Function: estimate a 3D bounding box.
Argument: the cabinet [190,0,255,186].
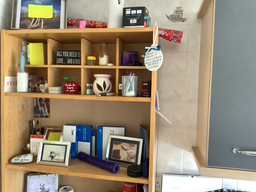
[{"bbox_3d":[0.510,-0.060,1.010,0.330,0.820,0.360,3,3,10],"label":"cabinet"}]

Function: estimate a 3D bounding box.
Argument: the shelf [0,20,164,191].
[{"bbox_3d":[-0.270,0.650,1.210,0.840,2.030,0.290,3,3,10],"label":"shelf"}]
